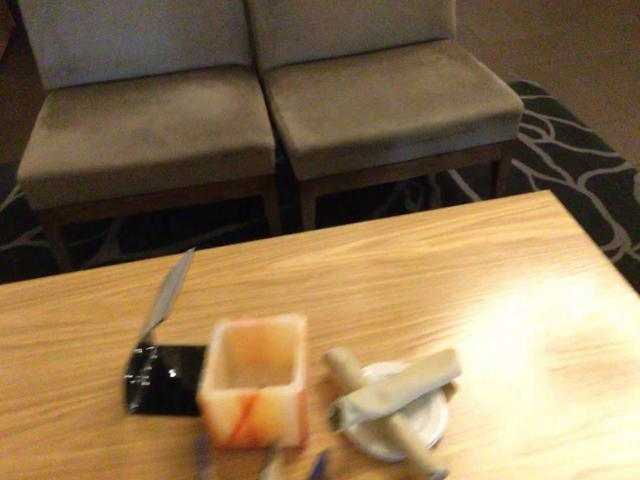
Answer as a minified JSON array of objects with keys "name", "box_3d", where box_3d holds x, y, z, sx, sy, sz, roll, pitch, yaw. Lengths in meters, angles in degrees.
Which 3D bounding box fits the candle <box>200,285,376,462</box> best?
[{"name":"candle","box_3d":[-0.050,0.200,0.890,0.230,0.140,0.170,-12,41,-7]}]

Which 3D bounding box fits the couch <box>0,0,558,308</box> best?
[{"name":"couch","box_3d":[-0.190,-0.520,1.920,1.510,0.820,0.860,-12,41,-7]}]
